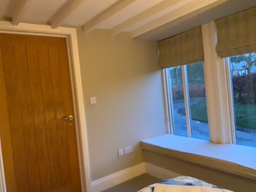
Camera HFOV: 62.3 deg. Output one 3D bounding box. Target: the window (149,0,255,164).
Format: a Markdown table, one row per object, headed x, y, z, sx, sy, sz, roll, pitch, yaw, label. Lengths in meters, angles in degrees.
| x | y | z | sx | sy | sz | roll | pitch | yaw | label |
| --- | --- | --- | --- | --- | --- | --- | --- | --- | --- |
| 1.050 | -0.120 | 2.840 | 0.230 | 1.720 | 1.940 | -6 | 2 | -34 | window |
